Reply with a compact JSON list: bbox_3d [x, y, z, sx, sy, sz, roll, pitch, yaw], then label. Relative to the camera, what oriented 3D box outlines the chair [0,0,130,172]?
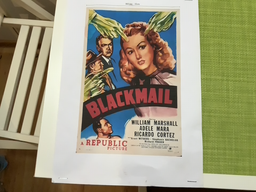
[{"bbox_3d":[-0.270,-0.080,0.700,0.520,0.750,0.470,4,80,1],"label":"chair"}]
